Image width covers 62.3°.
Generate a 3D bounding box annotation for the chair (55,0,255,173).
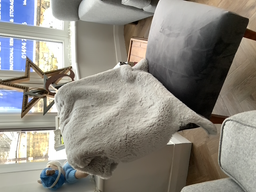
[{"bbox_3d":[0.120,-0.110,0.970,0.480,0.790,0.630,-128,45,-55],"label":"chair"}]
